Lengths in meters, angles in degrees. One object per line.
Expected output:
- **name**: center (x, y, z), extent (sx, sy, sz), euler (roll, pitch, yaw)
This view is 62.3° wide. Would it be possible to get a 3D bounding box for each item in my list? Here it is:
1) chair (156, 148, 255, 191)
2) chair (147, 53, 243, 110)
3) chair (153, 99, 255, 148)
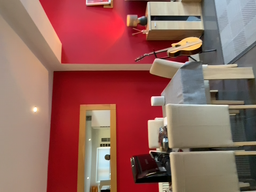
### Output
- **chair**: center (0.800, 0.730, 2.050), extent (0.570, 0.940, 0.420), euler (105, 164, -75)
- **chair**: center (0.760, -0.150, 2.580), extent (0.470, 0.960, 0.570), euler (107, 163, -76)
- **chair**: center (0.790, 0.300, 2.160), extent (0.570, 0.950, 0.420), euler (106, 163, -76)
